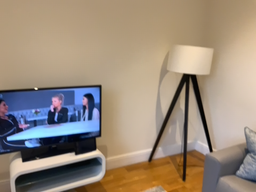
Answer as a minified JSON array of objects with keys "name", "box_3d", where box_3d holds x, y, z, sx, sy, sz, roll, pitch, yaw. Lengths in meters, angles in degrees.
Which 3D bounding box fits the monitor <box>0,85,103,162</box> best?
[{"name":"monitor","box_3d":[-0.680,0.220,1.950,0.940,0.580,0.070,-5,13,-29]}]

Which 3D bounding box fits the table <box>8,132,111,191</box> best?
[{"name":"table","box_3d":[-0.670,0.760,2.110,0.860,0.540,0.520,-4,13,-27]}]
